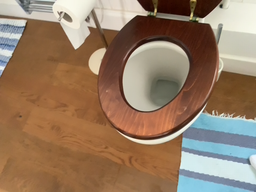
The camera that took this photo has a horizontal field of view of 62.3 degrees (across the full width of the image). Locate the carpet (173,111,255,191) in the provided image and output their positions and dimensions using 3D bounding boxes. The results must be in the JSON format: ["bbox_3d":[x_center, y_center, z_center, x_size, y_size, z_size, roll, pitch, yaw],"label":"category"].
[{"bbox_3d":[0.380,0.460,0.810,0.420,0.001,0.790,9,69,15],"label":"carpet"}]
